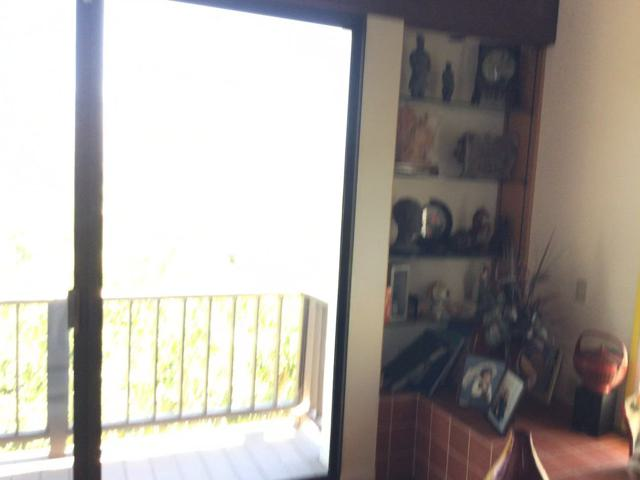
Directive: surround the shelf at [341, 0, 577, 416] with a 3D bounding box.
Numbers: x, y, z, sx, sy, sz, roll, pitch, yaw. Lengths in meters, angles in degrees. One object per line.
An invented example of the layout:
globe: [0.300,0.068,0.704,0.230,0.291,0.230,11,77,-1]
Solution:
shelf: [0.720,-0.150,3.140,0.960,2.020,0.610,4,-1,-14]
